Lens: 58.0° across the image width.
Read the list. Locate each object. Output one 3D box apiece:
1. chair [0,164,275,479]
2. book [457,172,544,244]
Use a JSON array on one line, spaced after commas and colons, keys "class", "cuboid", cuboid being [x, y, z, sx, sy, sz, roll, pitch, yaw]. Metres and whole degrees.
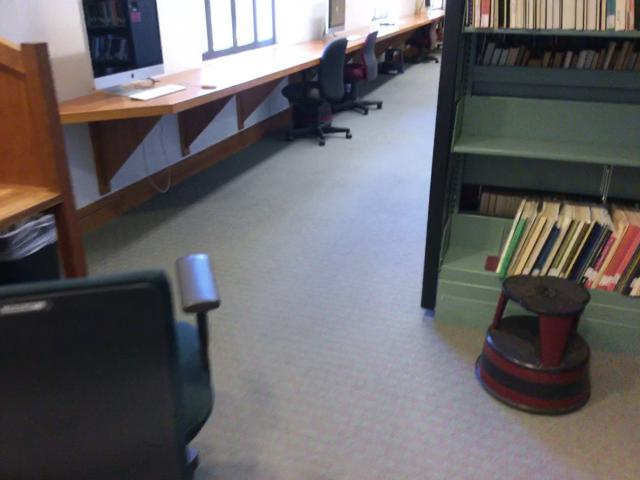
[{"class": "chair", "cuboid": [-0.500, 0.390, 1.260, 0.660, 0.920, 0.660, -7, 24, -17]}, {"class": "book", "cuboid": [0.790, -0.150, 2.520, 0.320, 0.160, 0.390, 8, 24, 17]}]
